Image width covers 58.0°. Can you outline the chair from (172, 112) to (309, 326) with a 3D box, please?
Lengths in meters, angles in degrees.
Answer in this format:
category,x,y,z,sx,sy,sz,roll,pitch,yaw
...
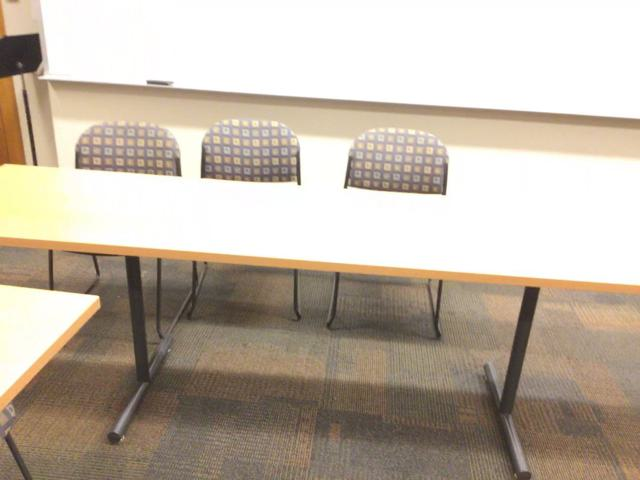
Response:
category,x,y,z,sx,sy,sz,roll,pitch,yaw
chair,-0.290,-0.120,2.440,0.470,0.680,0.700,0,25,-2
